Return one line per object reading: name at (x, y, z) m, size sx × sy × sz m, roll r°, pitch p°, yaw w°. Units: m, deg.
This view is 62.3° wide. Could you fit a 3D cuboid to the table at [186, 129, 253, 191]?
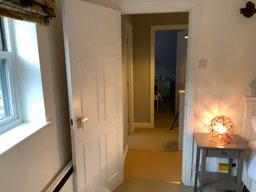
table at (0.900, 0.760, 2.200) m, size 0.490 × 0.690 × 0.450 m, roll 0°, pitch 13°, yaw 6°
